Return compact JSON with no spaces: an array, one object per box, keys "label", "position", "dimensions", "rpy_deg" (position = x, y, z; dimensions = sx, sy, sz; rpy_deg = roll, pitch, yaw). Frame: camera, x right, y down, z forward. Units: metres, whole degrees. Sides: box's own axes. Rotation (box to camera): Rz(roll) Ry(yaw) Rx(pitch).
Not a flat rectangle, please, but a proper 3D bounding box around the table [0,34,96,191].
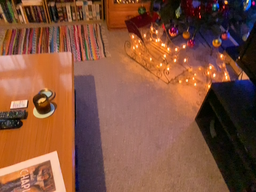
[{"label":"table","position":[-0.500,0.110,1.270],"dimensions":[0.540,0.400,1.080],"rpy_deg":[-4,49,-9]}]
